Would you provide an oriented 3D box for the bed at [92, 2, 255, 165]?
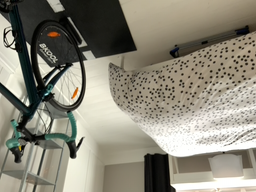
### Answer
[{"bbox_3d":[1.090,0.050,2.100,2.230,0.640,1.700,-12,145,21],"label":"bed"}]

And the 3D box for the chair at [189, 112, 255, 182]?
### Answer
[{"bbox_3d":[1.410,0.800,3.180,0.640,0.760,0.690,-21,141,31],"label":"chair"}]
